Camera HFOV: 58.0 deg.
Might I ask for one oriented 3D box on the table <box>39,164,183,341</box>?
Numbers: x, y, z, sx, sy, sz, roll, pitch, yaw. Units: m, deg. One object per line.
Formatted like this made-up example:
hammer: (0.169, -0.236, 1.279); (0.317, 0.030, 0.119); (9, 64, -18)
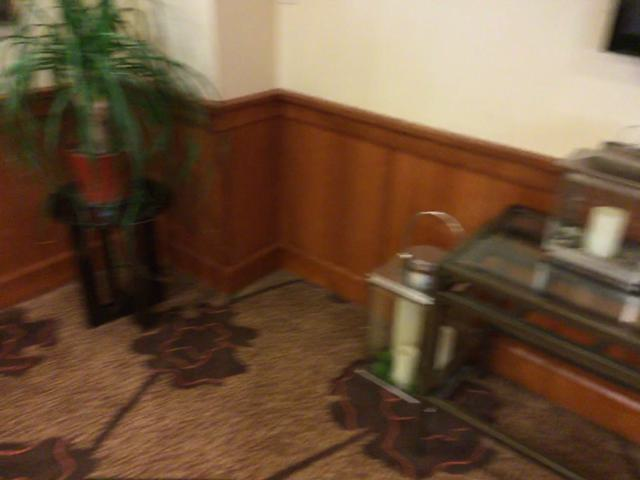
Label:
table: (-0.810, 0.030, 2.290); (0.340, 0.540, 0.380); (23, 30, 36)
